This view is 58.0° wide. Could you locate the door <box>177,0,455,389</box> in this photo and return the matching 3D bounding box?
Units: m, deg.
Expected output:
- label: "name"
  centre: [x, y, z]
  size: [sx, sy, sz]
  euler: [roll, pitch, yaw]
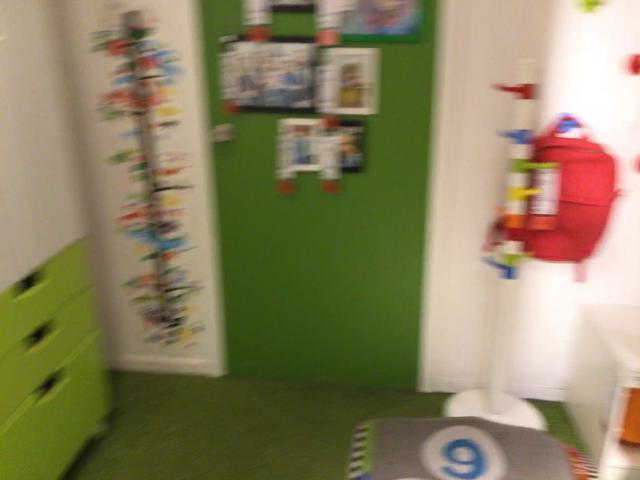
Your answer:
- label: "door"
  centre: [-0.010, -0.330, 2.010]
  size: [0.860, 1.860, 0.140]
  euler: [2, 22, 7]
